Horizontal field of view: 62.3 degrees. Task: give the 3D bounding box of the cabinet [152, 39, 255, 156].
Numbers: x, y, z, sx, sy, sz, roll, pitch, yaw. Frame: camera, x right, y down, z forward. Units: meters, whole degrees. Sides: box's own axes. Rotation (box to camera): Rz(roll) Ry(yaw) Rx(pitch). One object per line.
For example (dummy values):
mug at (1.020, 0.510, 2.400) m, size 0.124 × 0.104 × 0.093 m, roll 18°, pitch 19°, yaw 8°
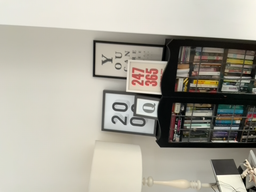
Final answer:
cabinet at (0.780, 0.030, 1.620) m, size 0.240 × 1.090 × 0.820 m, roll -109°, pitch 22°, yaw -71°
